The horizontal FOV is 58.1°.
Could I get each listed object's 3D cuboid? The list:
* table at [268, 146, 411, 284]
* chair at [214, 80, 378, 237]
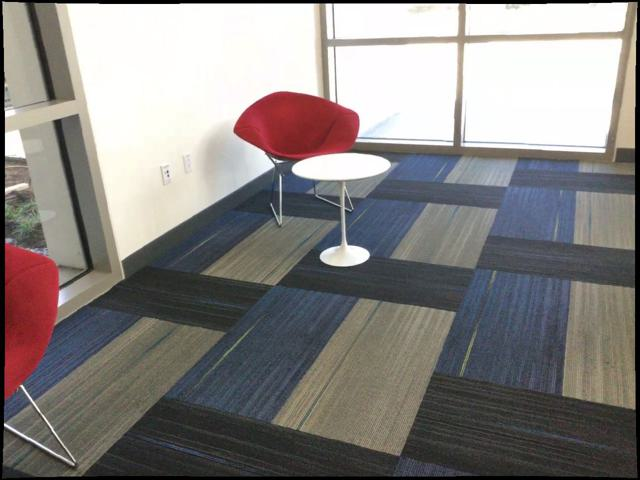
[{"bbox_3d":[0.130,-0.160,3.080,0.559,0.521,0.550,6,27,25],"label":"table"},{"bbox_3d":[-0.170,-0.582,3.810,0.778,0.722,0.820,-14,26,-18],"label":"chair"}]
